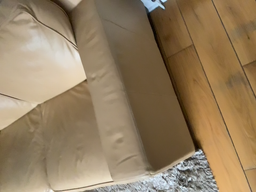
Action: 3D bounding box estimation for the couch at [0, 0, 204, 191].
[{"bbox_3d":[-0.570,0.130,1.350,1.570,0.840,1.020,-24,74,32],"label":"couch"}]
